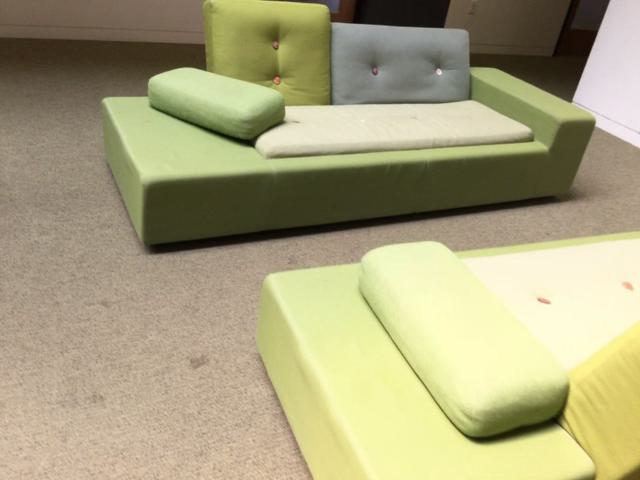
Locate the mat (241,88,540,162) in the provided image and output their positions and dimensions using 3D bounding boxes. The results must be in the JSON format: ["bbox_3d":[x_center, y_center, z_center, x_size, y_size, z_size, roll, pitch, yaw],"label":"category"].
[{"bbox_3d":[0.360,-0.580,2.780,1.380,0.080,0.490,-9,37,-24],"label":"mat"}]

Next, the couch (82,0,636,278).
[{"bbox_3d":[0.160,-0.630,2.770,2.260,0.810,1.020,-9,37,-24],"label":"couch"}]
